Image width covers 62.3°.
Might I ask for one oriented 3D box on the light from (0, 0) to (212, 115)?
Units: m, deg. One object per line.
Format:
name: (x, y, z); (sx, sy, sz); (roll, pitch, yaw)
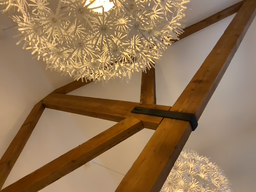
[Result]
light: (-0.590, -0.620, 1.390); (1.860, 1.000, 1.000); (-1, 39, 34)
